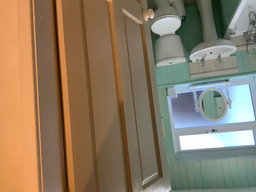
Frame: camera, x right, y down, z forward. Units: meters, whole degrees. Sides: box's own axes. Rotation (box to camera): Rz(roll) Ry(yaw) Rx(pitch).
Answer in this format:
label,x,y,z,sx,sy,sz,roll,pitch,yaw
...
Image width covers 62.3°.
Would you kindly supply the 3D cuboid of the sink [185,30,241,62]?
label,x,y,z,sx,sy,sz,roll,pitch,yaw
sink,1.010,-0.590,2.610,0.560,0.150,0.450,-8,173,13
